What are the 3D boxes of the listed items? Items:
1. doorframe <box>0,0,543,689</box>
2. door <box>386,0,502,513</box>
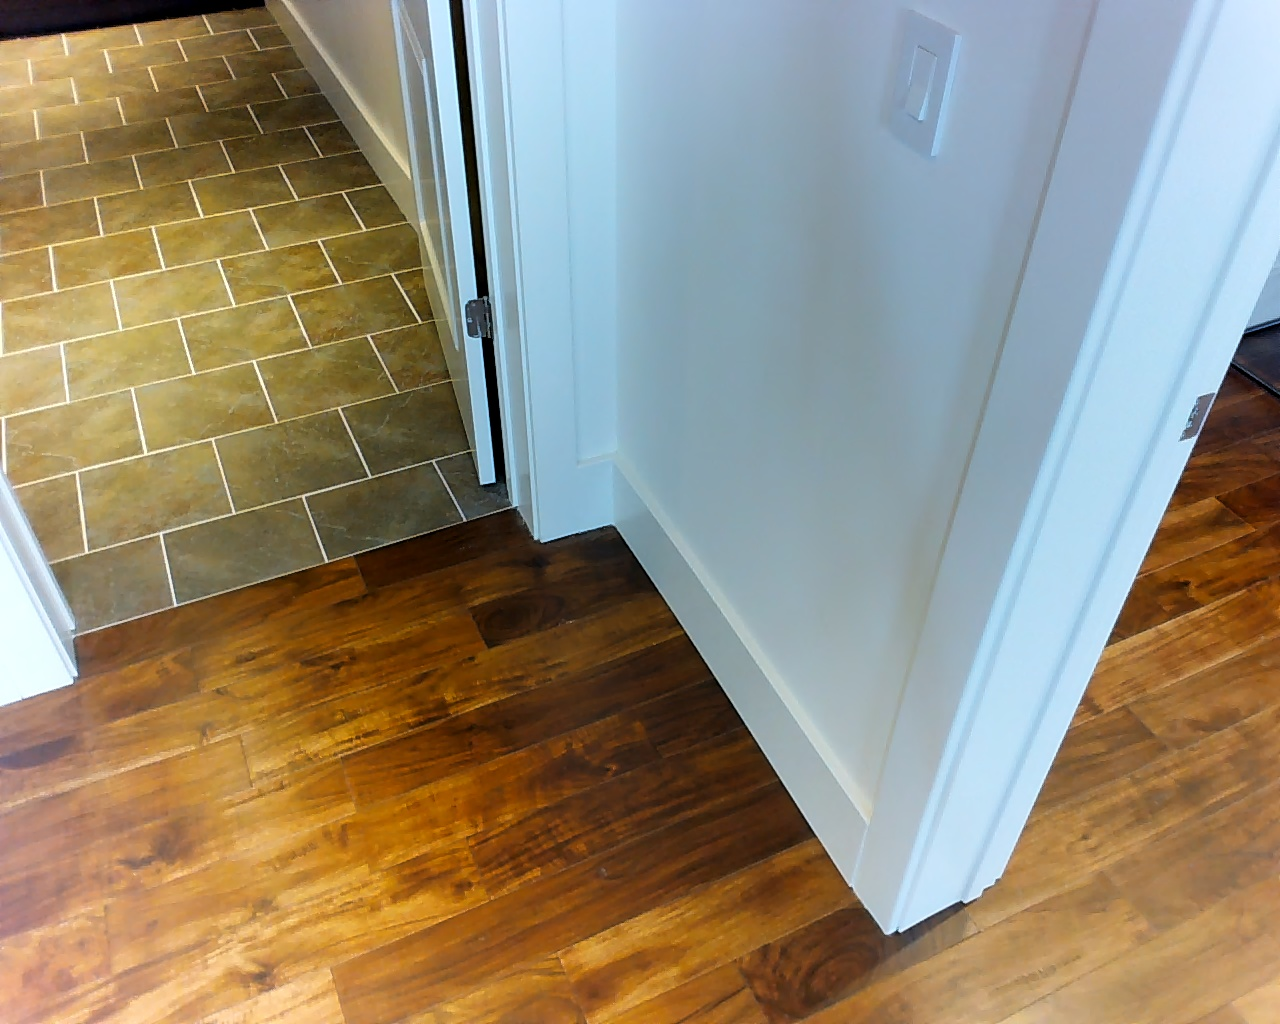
[{"bbox_3d":[-0.690,-0.710,1.510,0.970,2.220,0.240,-17,44,-19],"label":"doorframe"},{"bbox_3d":[-0.450,-1.130,2.020,0.070,2.200,0.940,-9,42,-11],"label":"door"}]
